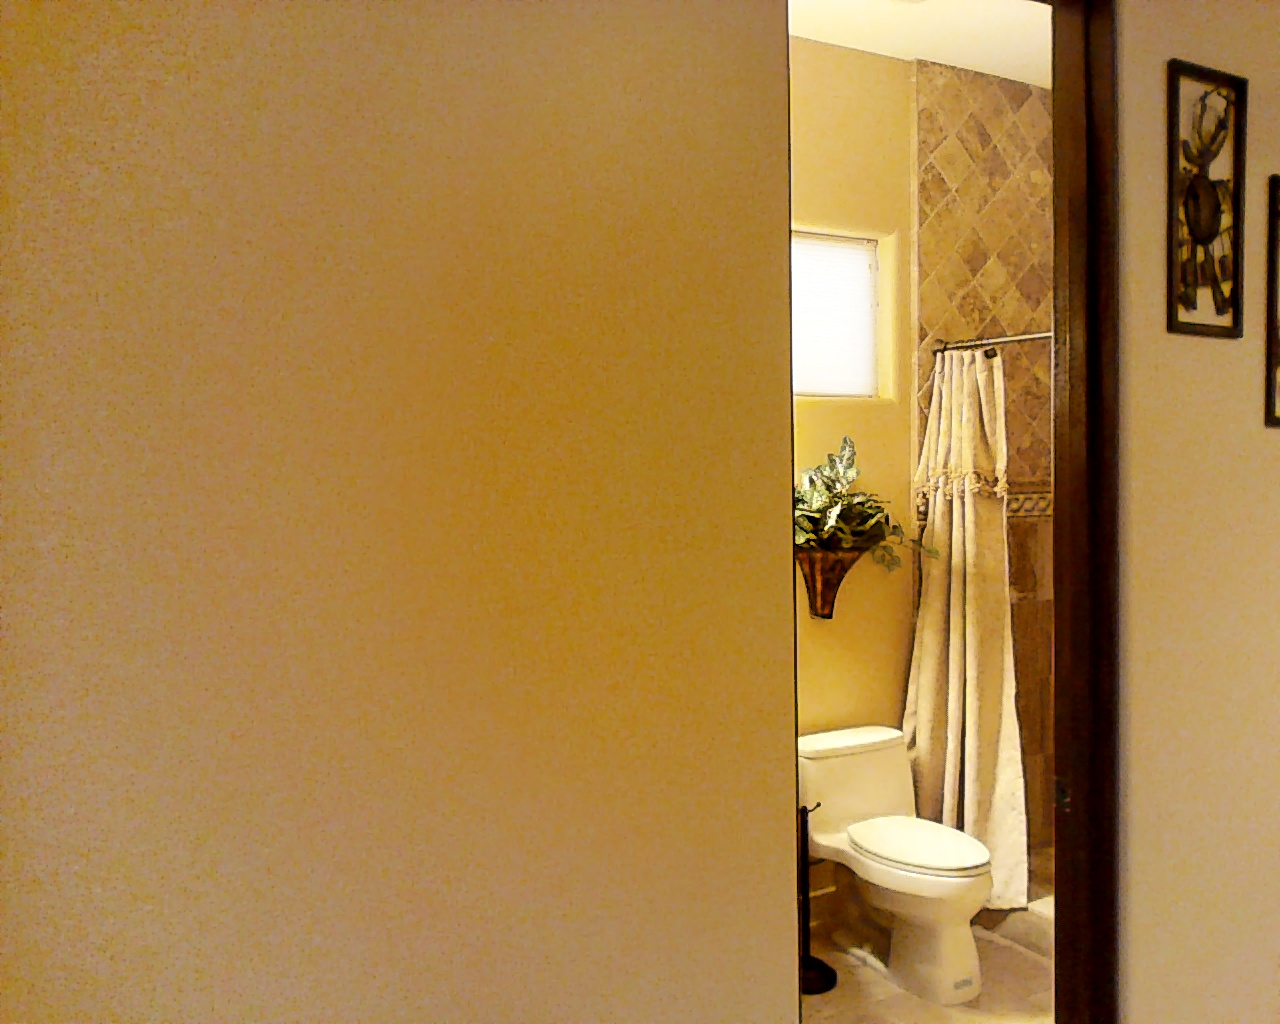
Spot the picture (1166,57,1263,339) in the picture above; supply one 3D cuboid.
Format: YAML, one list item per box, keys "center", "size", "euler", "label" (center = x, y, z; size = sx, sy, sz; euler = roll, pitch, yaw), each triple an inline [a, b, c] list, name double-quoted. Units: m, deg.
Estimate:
- center: [1.100, -0.590, 2.040]
  size: [0.240, 0.500, 0.030]
  euler: [-2, 3, -28]
  label: "picture"
